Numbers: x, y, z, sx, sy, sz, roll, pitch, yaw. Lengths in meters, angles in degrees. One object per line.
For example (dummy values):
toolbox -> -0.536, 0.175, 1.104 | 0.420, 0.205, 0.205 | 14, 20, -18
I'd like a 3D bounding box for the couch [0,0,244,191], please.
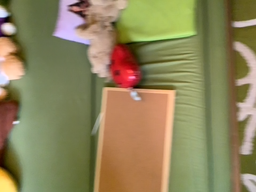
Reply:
couch -> -0.030, -0.040, 1.070 | 0.950, 0.760, 1.340 | -2, 85, 38
